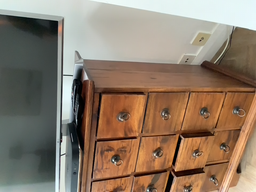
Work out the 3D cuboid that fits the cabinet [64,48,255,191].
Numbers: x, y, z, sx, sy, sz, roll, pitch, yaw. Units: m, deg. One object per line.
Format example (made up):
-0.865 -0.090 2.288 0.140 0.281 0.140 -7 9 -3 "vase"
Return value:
0.150 0.150 1.110 0.500 0.870 0.620 -130 45 -59 "cabinet"
